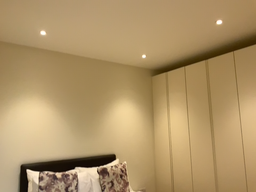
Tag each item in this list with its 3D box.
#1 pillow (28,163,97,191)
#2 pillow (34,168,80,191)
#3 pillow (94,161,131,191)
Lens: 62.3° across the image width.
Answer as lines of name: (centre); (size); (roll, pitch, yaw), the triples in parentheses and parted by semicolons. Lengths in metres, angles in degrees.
pillow: (-0.780, 1.100, 2.540); (0.690, 0.450, 0.460); (4, -10, -33)
pillow: (-0.780, 1.000, 2.310); (0.410, 0.350, 0.130); (19, -19, -31)
pillow: (-0.190, 1.060, 2.710); (0.430, 0.390, 0.120); (19, -19, -33)
